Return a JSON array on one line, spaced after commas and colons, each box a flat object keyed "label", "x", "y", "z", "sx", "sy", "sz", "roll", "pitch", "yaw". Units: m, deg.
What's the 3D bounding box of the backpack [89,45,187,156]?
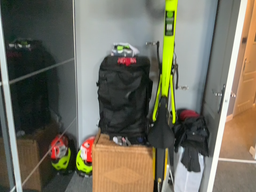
[{"label": "backpack", "x": 0.070, "y": 0.010, "z": 1.910, "sx": 0.730, "sy": 0.850, "sz": 0.420, "roll": 5, "pitch": 17, "yaw": 6}]

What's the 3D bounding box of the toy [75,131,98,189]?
[{"label": "toy", "x": -0.410, "y": 0.630, "z": 2.120, "sx": 0.150, "sy": 0.460, "sz": 0.290, "roll": 4, "pitch": 17, "yaw": 3}]
